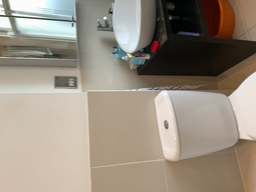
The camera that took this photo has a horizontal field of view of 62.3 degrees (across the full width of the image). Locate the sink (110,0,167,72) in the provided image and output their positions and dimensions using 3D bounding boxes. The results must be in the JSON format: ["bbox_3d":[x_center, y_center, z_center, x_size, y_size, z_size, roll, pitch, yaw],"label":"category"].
[{"bbox_3d":[0.030,-0.560,1.460,0.490,0.160,0.640,133,133,-64],"label":"sink"}]
